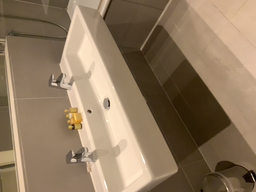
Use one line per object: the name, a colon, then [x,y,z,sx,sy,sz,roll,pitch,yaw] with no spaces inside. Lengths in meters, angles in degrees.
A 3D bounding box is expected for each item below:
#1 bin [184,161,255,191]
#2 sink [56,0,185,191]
bin: [0.530,0.530,1.220,0.210,0.290,0.180,-55,49,42]
sink: [-0.150,0.010,1.130,0.470,0.160,1.030,-55,49,42]
